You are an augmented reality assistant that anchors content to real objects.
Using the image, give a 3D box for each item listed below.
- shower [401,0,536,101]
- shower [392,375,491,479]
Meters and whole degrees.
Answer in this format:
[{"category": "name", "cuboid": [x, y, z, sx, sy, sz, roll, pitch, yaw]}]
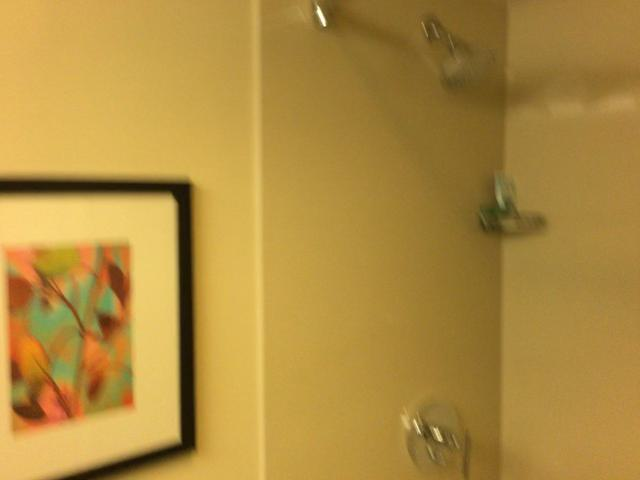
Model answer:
[{"category": "shower", "cuboid": [0.350, -0.450, 1.360, 0.250, 0.190, 0.190, -5, 4, -38]}, {"category": "shower", "cuboid": [0.320, 0.500, 1.490, 0.310, 0.230, 0.060, -5, 4, -38]}]
